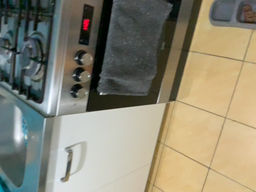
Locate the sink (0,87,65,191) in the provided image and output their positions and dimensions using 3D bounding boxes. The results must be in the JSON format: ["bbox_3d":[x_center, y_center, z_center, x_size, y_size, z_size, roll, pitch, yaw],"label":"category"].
[{"bbox_3d":[-0.480,0.180,0.950,0.380,0.150,0.340,23,107,37],"label":"sink"}]
